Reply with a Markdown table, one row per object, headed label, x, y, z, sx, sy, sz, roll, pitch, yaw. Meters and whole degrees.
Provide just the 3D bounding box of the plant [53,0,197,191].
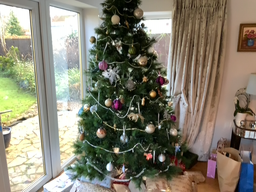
| label | x | y | z | sx | sy | sz | roll | pitch | yaw |
| --- | --- | --- | --- | --- | --- | --- | --- | --- | --- |
| plant | 0.060 | -0.120 | 2.370 | 1.080 | 2.200 | 1.320 | 3 | 14 | 10 |
